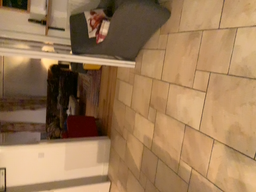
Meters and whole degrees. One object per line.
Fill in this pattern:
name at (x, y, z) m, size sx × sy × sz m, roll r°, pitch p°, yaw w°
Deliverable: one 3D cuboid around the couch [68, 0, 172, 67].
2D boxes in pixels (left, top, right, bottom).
couch at (-0.190, -1.000, 2.550) m, size 1.010 × 0.820 × 0.800 m, roll -48°, pitch 47°, yaw 53°
